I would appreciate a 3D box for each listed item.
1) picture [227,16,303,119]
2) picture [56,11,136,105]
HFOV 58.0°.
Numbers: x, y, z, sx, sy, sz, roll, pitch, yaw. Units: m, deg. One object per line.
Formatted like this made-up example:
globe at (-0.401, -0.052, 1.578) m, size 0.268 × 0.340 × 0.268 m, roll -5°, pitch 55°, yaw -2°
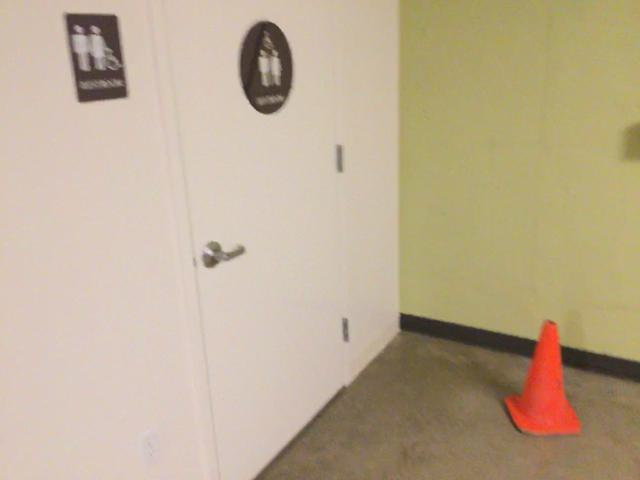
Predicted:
picture at (-0.170, -0.570, 1.890) m, size 0.030 × 0.300 × 0.310 m, roll 6°, pitch 22°, yaw 32°
picture at (-0.520, -0.430, 1.360) m, size 0.020 × 0.200 × 0.160 m, roll 6°, pitch 22°, yaw 32°
